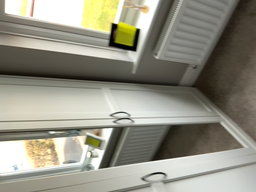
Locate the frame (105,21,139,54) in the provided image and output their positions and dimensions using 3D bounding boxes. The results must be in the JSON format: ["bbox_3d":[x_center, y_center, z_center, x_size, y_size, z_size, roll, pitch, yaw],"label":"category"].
[{"bbox_3d":[-0.050,-0.440,1.610,0.140,0.190,0.200,-124,37,-46],"label":"frame"}]
